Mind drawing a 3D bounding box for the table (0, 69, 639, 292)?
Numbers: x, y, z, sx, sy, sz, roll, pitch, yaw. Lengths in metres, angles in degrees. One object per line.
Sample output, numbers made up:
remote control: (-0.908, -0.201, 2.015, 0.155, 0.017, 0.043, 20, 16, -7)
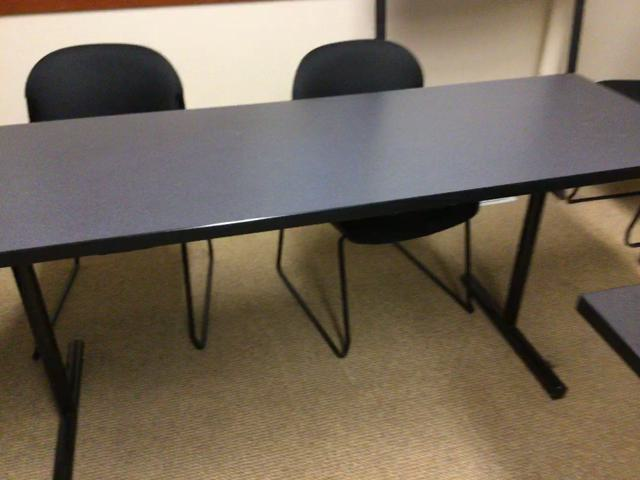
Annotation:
table: (-0.060, -0.190, 1.300, 1.790, 0.080, 0.670, -8, 32, -10)
